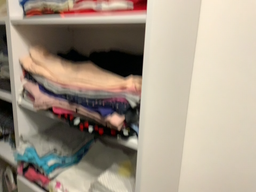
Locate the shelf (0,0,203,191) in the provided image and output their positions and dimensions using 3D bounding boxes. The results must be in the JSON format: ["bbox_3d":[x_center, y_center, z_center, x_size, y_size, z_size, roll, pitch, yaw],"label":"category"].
[{"bbox_3d":[-0.120,-0.390,0.740,0.680,1.570,0.320,13,18,32],"label":"shelf"}]
